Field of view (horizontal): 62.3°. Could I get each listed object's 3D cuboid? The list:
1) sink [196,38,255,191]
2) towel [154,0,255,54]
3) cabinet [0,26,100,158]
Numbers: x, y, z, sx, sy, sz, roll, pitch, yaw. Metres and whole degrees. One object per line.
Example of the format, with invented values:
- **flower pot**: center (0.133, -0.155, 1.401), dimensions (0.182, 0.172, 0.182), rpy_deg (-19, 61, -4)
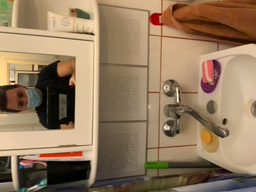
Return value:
- **sink**: center (0.390, 0.050, 0.710), dimensions (0.310, 0.140, 0.430), rpy_deg (-176, 87, -71)
- **towel**: center (0.410, -0.300, 0.790), dimensions (0.160, 0.610, 0.230), rpy_deg (178, 93, -71)
- **cabinet**: center (-0.380, -0.010, 0.520), dimensions (0.170, 0.590, 0.290), rpy_deg (-176, 87, -71)
